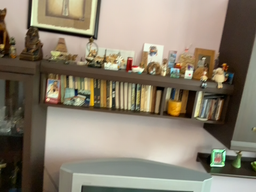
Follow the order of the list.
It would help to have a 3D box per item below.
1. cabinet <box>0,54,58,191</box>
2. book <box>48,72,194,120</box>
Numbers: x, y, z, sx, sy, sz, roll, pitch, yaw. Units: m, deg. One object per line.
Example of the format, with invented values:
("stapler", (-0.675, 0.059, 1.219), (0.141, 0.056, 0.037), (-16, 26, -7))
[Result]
("cabinet", (-0.700, 0.300, 1.300), (0.360, 1.060, 0.430), (6, 10, -6))
("book", (-0.040, 0.000, 1.300), (0.840, 0.180, 0.110), (7, 10, -3))
